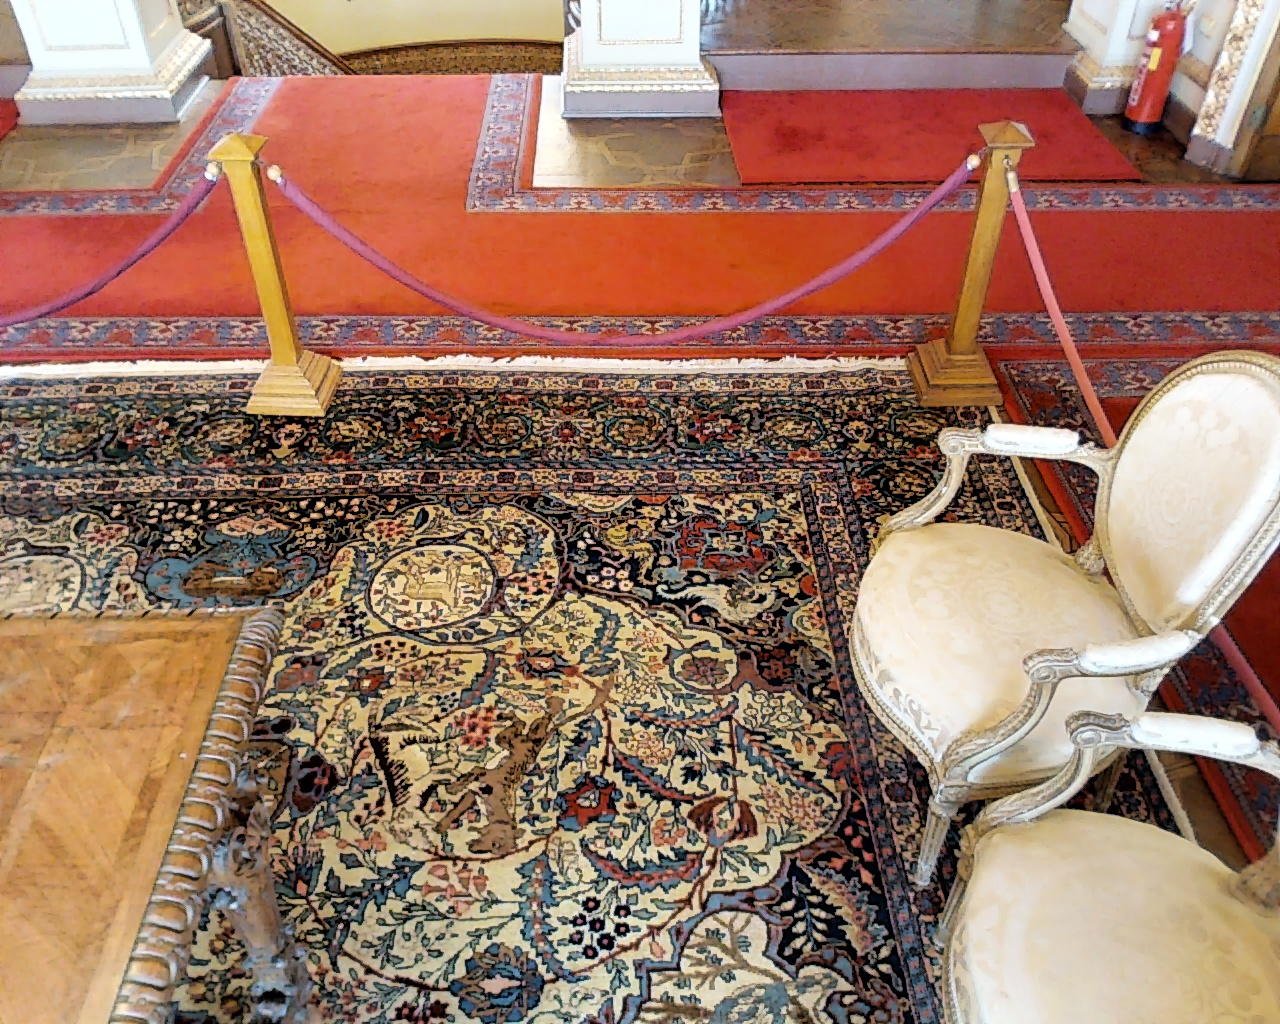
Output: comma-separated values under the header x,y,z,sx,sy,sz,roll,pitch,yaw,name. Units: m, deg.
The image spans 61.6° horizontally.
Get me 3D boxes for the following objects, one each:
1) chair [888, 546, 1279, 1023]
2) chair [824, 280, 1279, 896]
x,y,z,sx,sy,sz,roll,pitch,yaw,name
0.760,0.610,1.380,0.610,0.910,0.680,-1,41,-1,chair
0.730,0.150,1.890,0.620,0.900,0.610,-1,41,-1,chair
